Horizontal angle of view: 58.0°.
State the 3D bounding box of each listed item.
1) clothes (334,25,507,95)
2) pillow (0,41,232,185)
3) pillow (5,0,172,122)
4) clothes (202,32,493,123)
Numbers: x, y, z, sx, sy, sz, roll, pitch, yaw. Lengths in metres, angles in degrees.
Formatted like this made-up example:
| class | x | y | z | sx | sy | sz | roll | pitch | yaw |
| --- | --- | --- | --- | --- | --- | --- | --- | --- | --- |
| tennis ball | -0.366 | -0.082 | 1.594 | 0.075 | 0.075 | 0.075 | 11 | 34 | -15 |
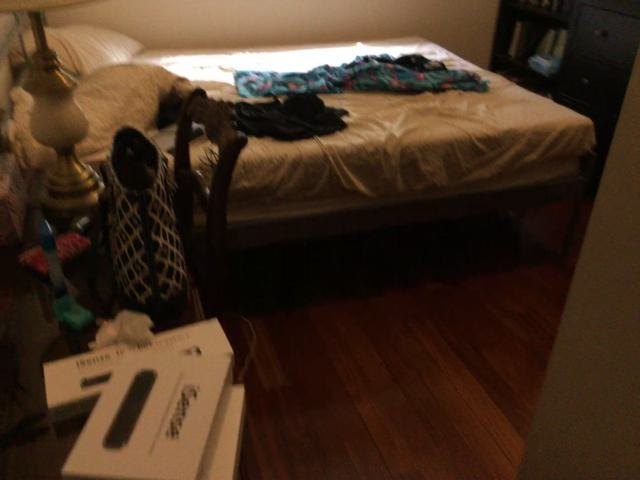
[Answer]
| class | x | y | z | sx | sy | sz | roll | pitch | yaw |
| --- | --- | --- | --- | --- | --- | --- | --- | --- | --- |
| clothes | 0.420 | -0.820 | 2.580 | 0.560 | 0.120 | 0.560 | -10 | 34 | -16 |
| pillow | -0.700 | -0.470 | 1.950 | 0.660 | 0.180 | 0.740 | -10 | 34 | -16 |
| pillow | -0.990 | -0.830 | 2.530 | 0.540 | 0.270 | 0.900 | -10 | 34 | -16 |
| clothes | 0.090 | -0.710 | 2.430 | 1.070 | 0.130 | 0.580 | -10 | 34 | -16 |
